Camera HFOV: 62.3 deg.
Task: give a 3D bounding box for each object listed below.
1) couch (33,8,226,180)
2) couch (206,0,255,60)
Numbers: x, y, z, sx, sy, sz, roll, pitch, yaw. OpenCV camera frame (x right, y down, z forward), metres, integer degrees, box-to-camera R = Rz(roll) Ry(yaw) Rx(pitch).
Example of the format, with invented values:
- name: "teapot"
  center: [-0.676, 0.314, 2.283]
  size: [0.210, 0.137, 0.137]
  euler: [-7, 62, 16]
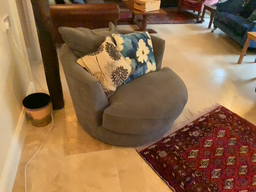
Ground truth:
- name: "couch"
  center: [0.010, -0.170, 1.910]
  size: [1.040, 0.810, 1.110]
  euler: [33, 45, 33]
- name: "couch"
  center: [2.250, -1.310, 3.660]
  size: [1.090, 0.900, 1.250]
  euler: [-1, 37, -7]
